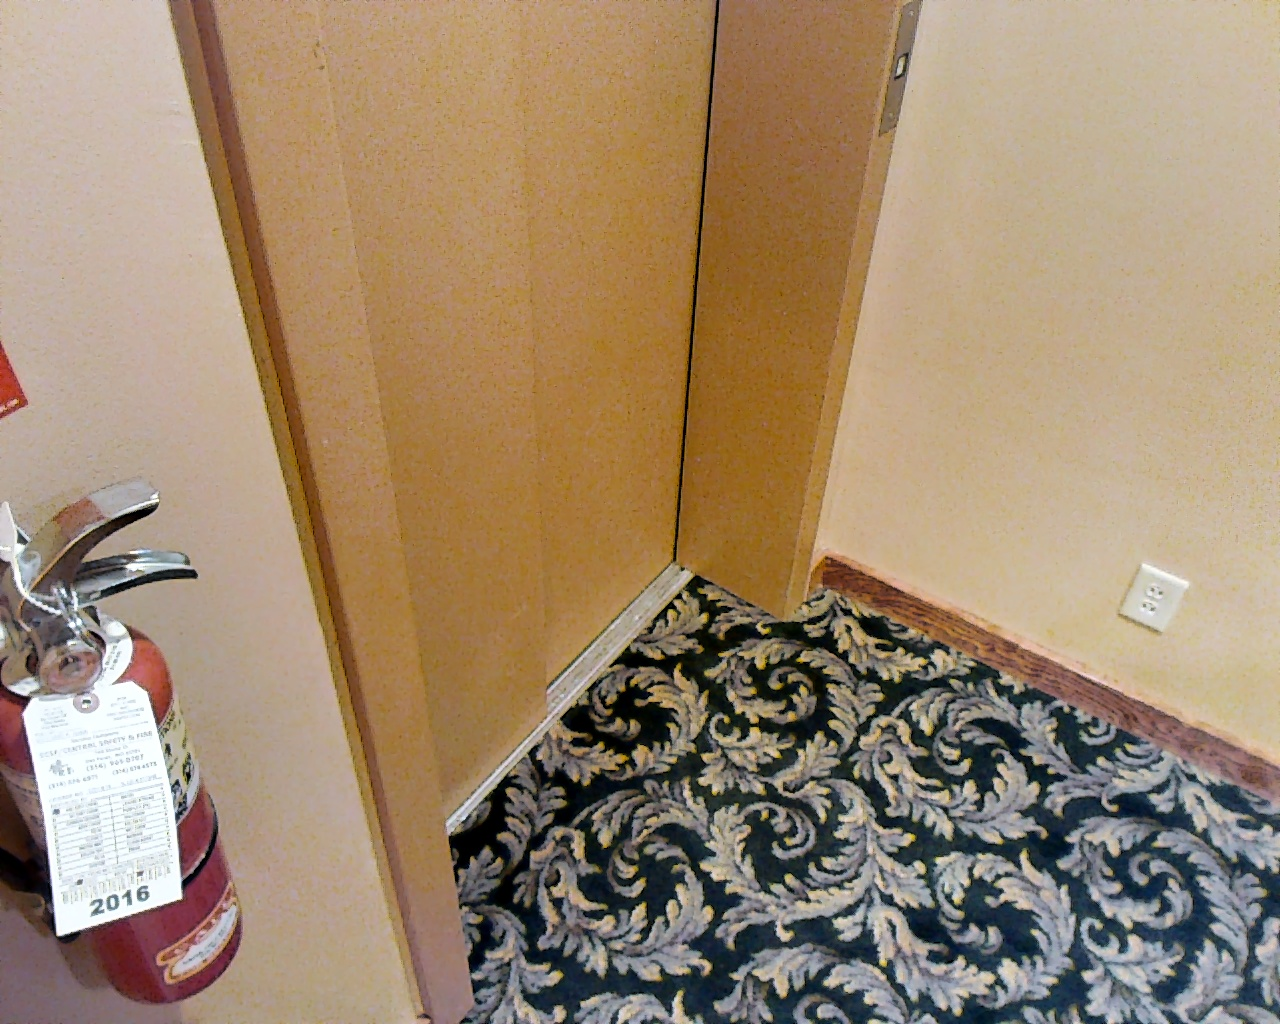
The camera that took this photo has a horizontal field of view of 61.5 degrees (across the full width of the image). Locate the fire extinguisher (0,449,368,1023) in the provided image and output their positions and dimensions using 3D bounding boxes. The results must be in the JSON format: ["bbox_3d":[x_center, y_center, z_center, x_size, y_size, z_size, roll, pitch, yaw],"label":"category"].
[{"bbox_3d":[-0.340,0.220,0.720,0.180,0.480,0.160,25,47,25],"label":"fire extinguisher"}]

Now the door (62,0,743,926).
[{"bbox_3d":[-0.150,-0.390,1.270,0.070,2.040,0.910,25,47,25],"label":"door"}]
